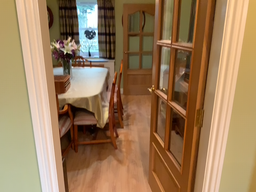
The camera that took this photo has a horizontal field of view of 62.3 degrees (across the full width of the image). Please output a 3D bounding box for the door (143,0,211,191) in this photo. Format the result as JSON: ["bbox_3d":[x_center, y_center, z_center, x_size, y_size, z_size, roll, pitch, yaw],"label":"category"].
[{"bbox_3d":[0.270,0.020,1.500,0.060,1.980,0.710,-4,19,-13],"label":"door"}]

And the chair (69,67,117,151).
[{"bbox_3d":[-0.400,0.150,2.680,0.510,0.960,0.440,0,18,-2],"label":"chair"}]

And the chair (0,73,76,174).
[{"bbox_3d":[-0.910,0.270,2.300,0.520,0.940,0.510,-1,18,-4],"label":"chair"}]

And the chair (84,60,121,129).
[{"bbox_3d":[-0.360,-0.040,3.260,0.510,0.970,0.450,0,18,-2],"label":"chair"}]

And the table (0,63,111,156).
[{"bbox_3d":[-0.900,0.040,3.280,1.110,0.770,1.880,1,18,0],"label":"table"}]
